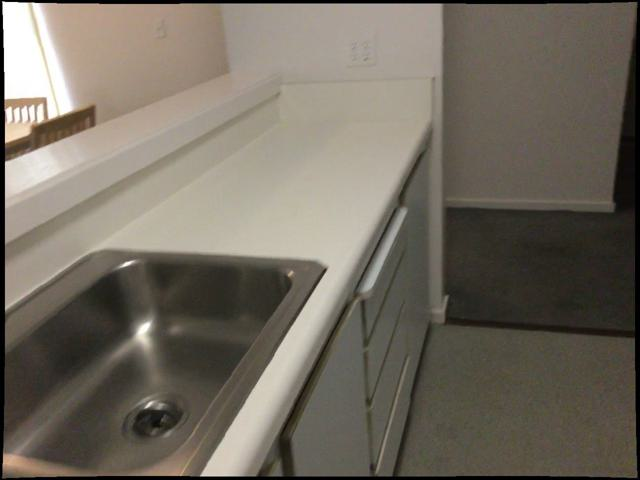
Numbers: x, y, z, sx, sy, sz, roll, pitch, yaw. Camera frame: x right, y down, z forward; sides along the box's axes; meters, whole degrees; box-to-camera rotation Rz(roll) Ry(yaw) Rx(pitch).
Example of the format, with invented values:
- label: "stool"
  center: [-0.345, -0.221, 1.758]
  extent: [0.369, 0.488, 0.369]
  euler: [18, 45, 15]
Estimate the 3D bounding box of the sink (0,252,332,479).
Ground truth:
- label: "sink"
  center: [-0.379, 0.311, 0.940]
  extent: [0.579, 0.220, 0.830]
  euler: [1, 26, 18]
